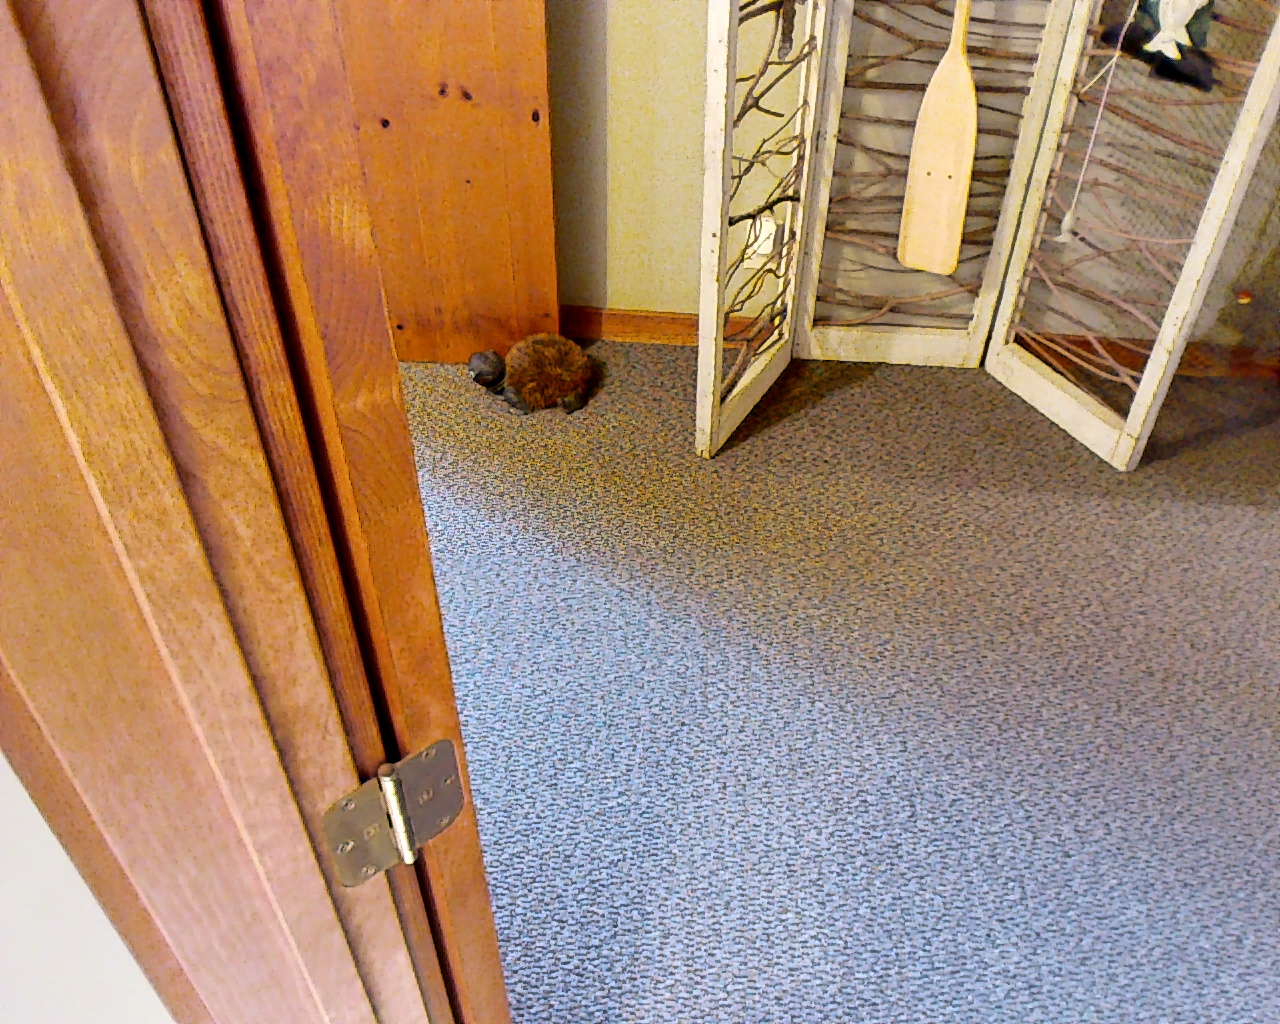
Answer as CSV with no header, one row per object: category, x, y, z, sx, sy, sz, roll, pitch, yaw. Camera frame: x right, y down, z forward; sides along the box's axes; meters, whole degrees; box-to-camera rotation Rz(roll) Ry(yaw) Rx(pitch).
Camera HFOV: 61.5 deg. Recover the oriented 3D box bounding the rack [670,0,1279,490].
rack,0.670,-0.960,2.080,1.130,1.860,0.540,4,42,3
